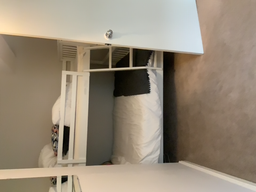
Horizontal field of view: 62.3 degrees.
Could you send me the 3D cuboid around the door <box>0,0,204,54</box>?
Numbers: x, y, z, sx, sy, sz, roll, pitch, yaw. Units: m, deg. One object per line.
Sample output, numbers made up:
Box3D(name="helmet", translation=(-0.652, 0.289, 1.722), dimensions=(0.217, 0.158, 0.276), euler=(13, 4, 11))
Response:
Box3D(name="door", translation=(-0.200, -0.910, 2.040), dimensions=(0.030, 2.010, 0.880), euler=(133, 137, -64))
